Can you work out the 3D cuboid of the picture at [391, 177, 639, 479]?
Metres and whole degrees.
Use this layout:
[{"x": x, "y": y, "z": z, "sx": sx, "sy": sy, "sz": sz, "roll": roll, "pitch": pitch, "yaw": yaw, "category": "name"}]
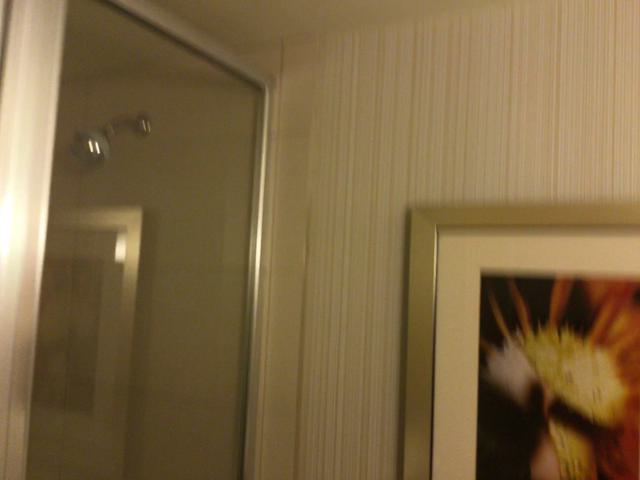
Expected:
[{"x": 0.370, "y": 0.250, "z": 0.930, "sx": 0.520, "sy": 0.690, "sz": 0.040, "roll": 0, "pitch": -4, "yaw": 28, "category": "picture"}]
